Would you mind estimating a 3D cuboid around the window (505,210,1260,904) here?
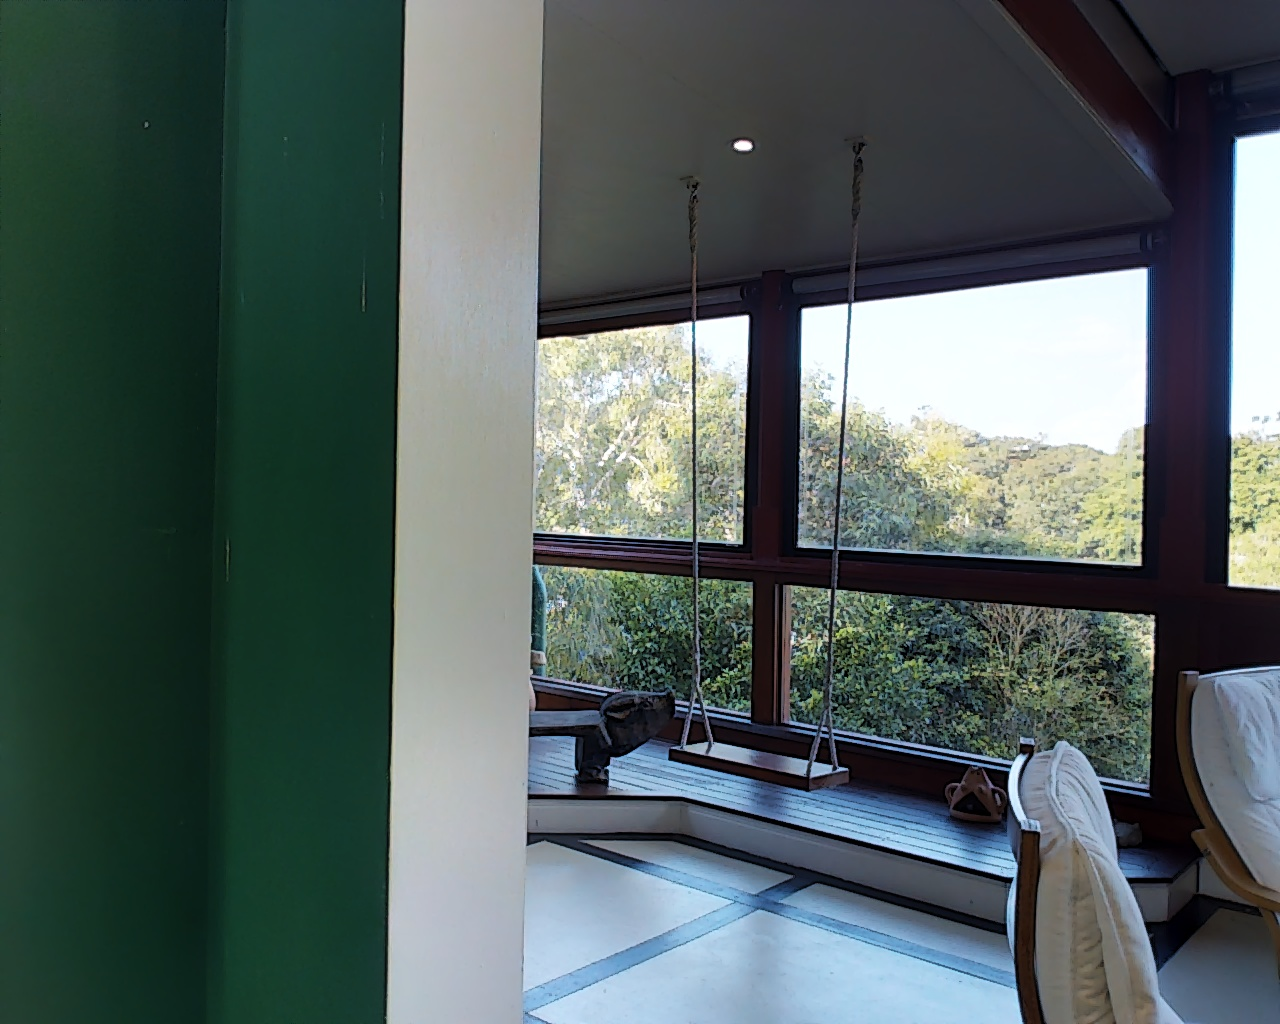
[{"bbox_3d":[0.710,0.110,4.940,3.679,2.371,0.160,2,0,41],"label":"window"}]
